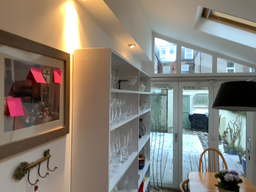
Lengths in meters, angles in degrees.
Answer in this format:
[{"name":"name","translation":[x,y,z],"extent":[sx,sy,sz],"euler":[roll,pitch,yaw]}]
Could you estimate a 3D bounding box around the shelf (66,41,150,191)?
[{"name":"shelf","translation":[-0.020,0.660,2.380],"extent":[0.260,2.000,2.180],"euler":[0,1,13]}]
